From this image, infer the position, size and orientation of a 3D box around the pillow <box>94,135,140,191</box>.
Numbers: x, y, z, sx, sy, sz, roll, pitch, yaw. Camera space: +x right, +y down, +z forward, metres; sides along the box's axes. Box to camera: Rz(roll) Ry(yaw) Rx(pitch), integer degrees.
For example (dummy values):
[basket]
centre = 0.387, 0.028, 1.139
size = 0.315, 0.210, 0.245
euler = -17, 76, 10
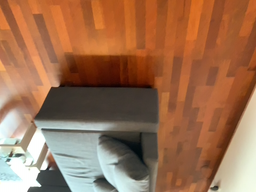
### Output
[pillow]
centre = -0.080, 0.620, 1.720
size = 0.260, 0.530, 0.650
euler = -8, 167, -4
